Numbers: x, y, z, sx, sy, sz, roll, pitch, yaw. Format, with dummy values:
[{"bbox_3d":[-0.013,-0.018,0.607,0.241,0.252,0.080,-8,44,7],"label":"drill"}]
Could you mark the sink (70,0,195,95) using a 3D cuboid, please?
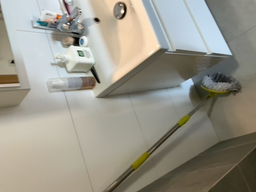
[{"bbox_3d":[-0.040,-0.370,0.890,0.380,0.150,0.620,-32,74,42],"label":"sink"}]
